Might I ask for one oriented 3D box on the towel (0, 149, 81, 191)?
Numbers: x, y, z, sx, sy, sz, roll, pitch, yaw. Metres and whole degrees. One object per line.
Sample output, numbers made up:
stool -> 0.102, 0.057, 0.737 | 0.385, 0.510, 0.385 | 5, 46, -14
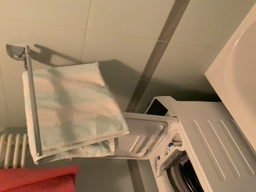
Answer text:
towel -> -0.460, 0.400, 0.890 | 0.170, 0.480, 0.260 | 113, 150, -41

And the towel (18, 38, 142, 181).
towel -> -0.220, 0.040, 0.890 | 0.260, 0.380, 0.490 | 117, 147, -46
